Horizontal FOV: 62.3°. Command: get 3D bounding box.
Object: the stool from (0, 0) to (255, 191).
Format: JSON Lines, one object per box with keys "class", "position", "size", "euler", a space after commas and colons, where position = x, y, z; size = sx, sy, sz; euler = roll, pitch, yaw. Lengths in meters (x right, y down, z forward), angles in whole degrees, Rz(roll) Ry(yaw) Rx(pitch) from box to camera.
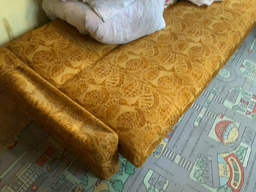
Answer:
{"class": "stool", "position": [0.250, -0.510, 1.680], "size": [1.000, 0.470, 2.200], "euler": [35, 59, 21]}
